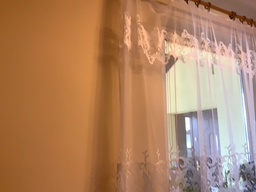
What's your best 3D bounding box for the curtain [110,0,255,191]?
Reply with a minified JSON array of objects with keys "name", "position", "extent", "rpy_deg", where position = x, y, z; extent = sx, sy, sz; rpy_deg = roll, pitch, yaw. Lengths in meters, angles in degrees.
[{"name":"curtain","position":[0.790,0.450,1.580],"extent":[1.880,2.730,0.250],"rpy_deg":[6,-12,-26]}]
